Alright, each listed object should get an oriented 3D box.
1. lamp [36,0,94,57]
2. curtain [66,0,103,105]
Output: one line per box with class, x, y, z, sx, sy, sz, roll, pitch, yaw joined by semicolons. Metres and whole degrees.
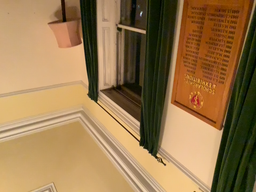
lamp;-0.950;-1.710;3.100;0.610;2.100;0.570;19;-150;31
curtain;-0.640;-1.240;3.080;0.290;2.760;0.590;-15;-150;-33
